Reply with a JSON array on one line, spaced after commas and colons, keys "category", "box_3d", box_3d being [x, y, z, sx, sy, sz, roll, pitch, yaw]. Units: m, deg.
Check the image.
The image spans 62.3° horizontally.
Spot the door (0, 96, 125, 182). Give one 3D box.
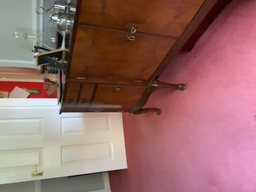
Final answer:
[{"category": "door", "box_3d": [-1.000, 0.430, 2.320, 0.090, 1.970, 0.870, 140, 128, -61]}]
